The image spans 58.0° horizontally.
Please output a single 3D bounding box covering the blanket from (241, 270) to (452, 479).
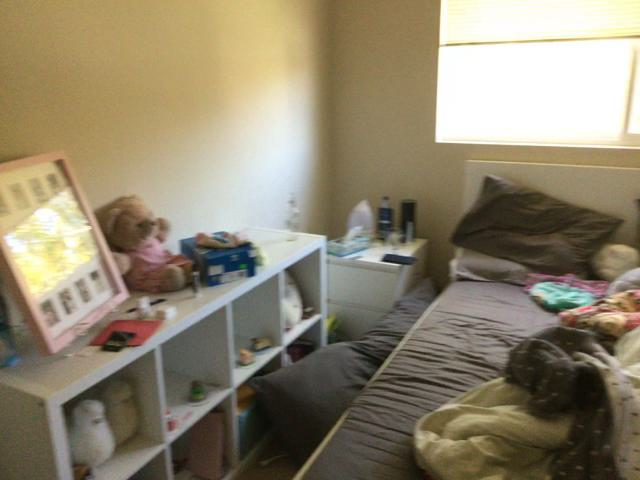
[{"bbox_3d":[0.180,0.530,2.540,0.360,0.430,1.060,9,22,37],"label":"blanket"}]

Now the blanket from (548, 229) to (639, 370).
[{"bbox_3d":[1.130,0.200,2.050,0.510,0.310,0.500,6,20,29],"label":"blanket"}]

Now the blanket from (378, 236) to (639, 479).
[{"bbox_3d":[0.970,0.370,1.600,1.190,0.310,1.270,6,20,29],"label":"blanket"}]

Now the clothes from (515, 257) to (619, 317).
[{"bbox_3d":[1.060,0.190,2.470,0.360,0.080,0.380,6,20,29],"label":"clothes"}]
